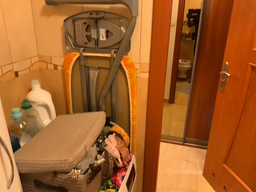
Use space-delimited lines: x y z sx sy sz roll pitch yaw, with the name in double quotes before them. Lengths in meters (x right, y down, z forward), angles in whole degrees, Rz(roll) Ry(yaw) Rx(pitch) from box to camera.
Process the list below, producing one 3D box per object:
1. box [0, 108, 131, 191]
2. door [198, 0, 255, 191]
"box" -0.280 0.260 0.950 0.520 0.240 0.320 7 22 13
"door" 0.900 0.030 1.450 0.070 2.070 0.900 -5 23 -14
